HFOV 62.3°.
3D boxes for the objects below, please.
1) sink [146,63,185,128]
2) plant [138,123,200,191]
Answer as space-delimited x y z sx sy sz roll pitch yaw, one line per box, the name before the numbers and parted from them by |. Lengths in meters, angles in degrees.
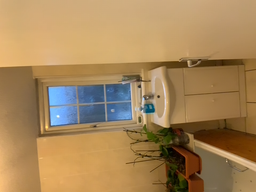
sink | 0.340 -0.010 2.020 0.440 0.190 0.540 -177 83 -78
plant | 0.370 0.670 2.010 0.460 0.400 0.730 180 86 -78
